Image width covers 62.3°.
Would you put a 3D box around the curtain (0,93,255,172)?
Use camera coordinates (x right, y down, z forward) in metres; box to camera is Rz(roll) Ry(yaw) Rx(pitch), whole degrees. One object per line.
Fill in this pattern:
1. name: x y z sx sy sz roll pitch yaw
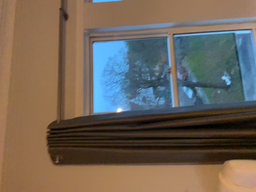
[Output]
1. curtain: 0.080 0.240 1.420 0.180 2.220 0.400 78 -172 -78
